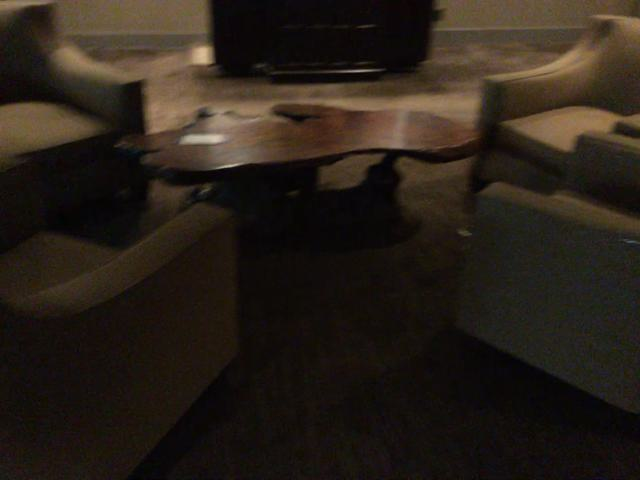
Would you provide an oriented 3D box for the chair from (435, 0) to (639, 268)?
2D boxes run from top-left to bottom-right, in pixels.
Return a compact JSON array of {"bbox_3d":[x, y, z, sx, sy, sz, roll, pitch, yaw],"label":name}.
[{"bbox_3d":[1.330,-0.610,2.770,1.030,0.830,1.030,-19,36,-28],"label":"chair"}]

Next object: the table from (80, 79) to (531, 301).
[{"bbox_3d":[-0.090,-0.310,2.630,1.740,0.480,0.850,-9,32,-13],"label":"table"}]

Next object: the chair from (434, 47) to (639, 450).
[{"bbox_3d":[1.080,0.010,1.730,1.080,0.840,0.870,24,39,35],"label":"chair"}]

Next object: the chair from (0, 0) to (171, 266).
[{"bbox_3d":[-1.330,-0.570,2.550,0.800,0.900,0.890,23,38,33],"label":"chair"}]

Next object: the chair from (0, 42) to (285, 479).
[{"bbox_3d":[-0.790,0.140,1.350,0.990,0.880,1.100,13,33,21],"label":"chair"}]
